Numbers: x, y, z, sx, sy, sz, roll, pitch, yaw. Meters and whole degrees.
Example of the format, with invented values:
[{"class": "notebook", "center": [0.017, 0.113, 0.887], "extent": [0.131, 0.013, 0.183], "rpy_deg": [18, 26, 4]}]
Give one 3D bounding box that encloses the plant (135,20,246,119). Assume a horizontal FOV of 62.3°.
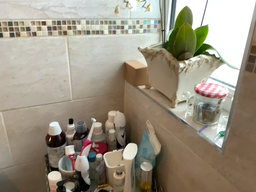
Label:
[{"class": "plant", "center": [0.170, -0.110, 0.690], "extent": [0.190, 0.240, 0.270], "rpy_deg": [-7, 25, -20]}]
